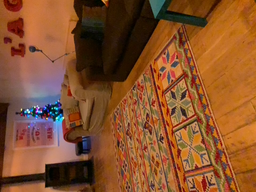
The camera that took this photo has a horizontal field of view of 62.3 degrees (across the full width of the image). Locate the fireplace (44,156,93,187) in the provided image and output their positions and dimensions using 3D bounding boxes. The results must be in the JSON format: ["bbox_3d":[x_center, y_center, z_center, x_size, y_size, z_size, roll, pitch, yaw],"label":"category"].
[{"bbox_3d":[-1.470,1.840,5.170,0.530,1.070,0.530,129,136,-56],"label":"fireplace"}]
